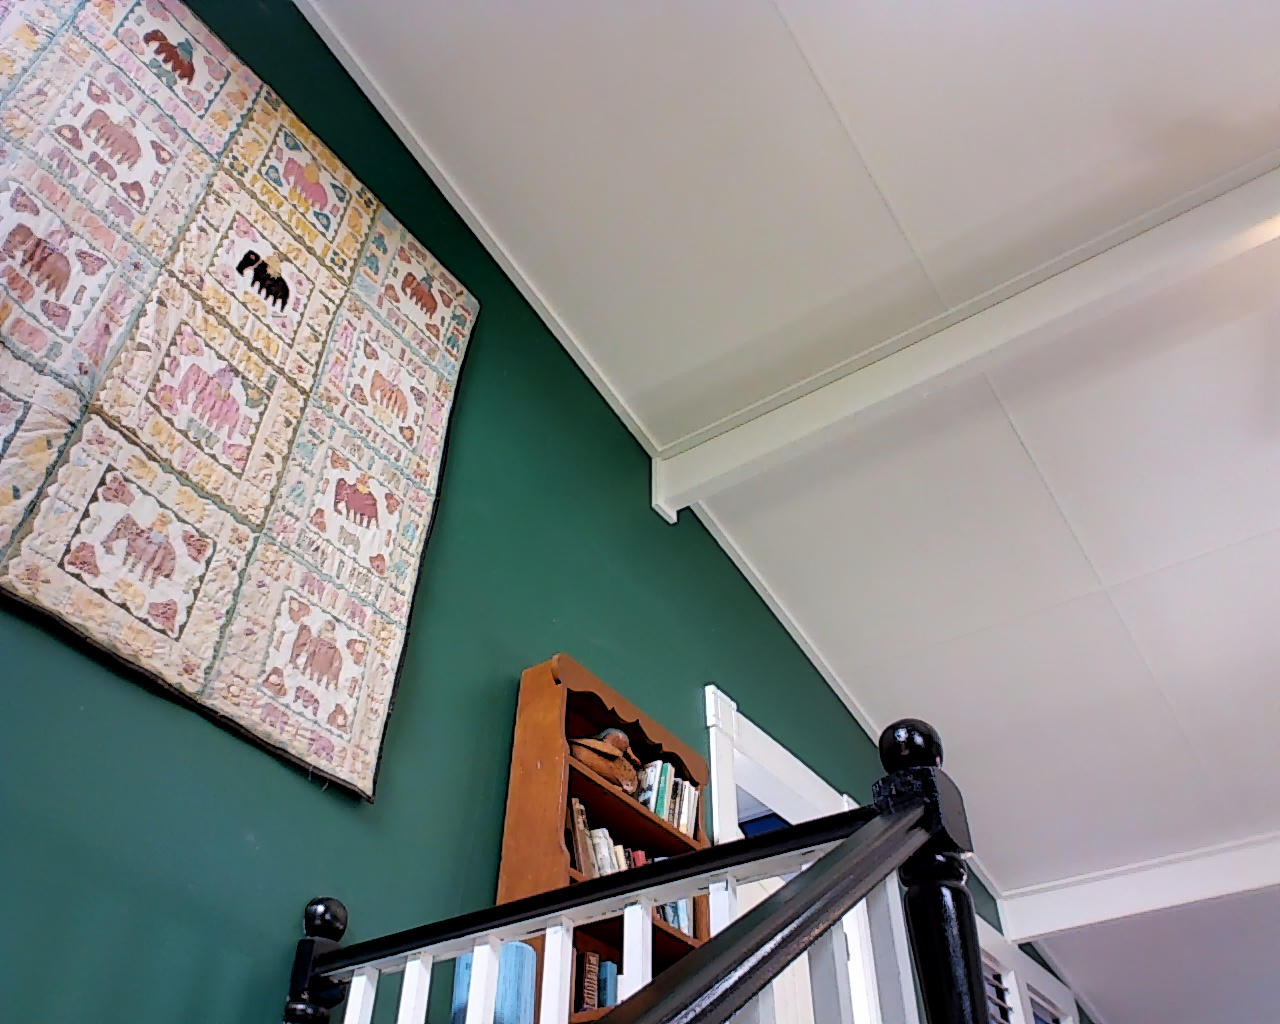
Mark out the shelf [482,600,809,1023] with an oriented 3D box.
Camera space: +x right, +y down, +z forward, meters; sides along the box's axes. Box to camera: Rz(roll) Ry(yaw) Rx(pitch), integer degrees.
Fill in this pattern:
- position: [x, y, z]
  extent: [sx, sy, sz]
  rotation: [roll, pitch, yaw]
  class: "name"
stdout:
- position: [0.040, 1.181, 2.400]
  extent: [0.370, 1.841, 0.750]
  rotation: [-25, -49, 26]
  class: "shelf"
